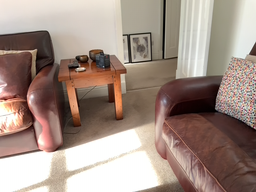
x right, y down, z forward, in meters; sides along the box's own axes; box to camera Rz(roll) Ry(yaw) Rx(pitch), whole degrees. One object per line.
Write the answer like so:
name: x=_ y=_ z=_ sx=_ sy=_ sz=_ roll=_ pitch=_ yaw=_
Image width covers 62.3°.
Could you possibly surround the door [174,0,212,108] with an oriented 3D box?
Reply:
door: x=0.660 y=-0.980 z=2.200 sx=0.050 sy=2.020 sz=0.900 roll=-3 pitch=25 yaw=-1
